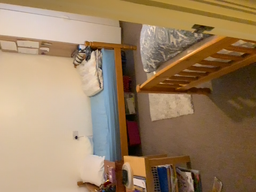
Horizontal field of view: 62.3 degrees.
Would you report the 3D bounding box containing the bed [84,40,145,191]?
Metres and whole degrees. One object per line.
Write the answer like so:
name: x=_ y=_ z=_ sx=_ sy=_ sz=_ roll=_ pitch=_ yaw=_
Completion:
bed: x=-0.290 y=0.320 z=3.330 sx=1.030 sy=0.520 sz=2.040 roll=155 pitch=113 yaw=-64
